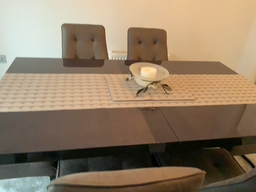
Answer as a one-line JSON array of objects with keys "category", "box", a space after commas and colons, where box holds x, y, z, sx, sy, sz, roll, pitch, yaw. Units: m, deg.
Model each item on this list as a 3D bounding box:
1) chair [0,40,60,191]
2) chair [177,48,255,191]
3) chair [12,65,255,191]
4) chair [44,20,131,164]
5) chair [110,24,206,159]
[{"category": "chair", "box": [-0.690, 0.250, 1.100, 0.590, 0.950, 0.500, -1, 29, -15]}, {"category": "chair", "box": [0.850, 0.180, 1.590, 0.620, 0.930, 0.480, 0, 29, -14]}, {"category": "chair", "box": [-0.080, 0.440, 0.900, 0.490, 0.950, 0.640, 0, 29, -14]}, {"category": "chair", "box": [-0.350, -0.040, 1.700, 0.500, 0.950, 0.570, -2, 30, -16]}, {"category": "chair", "box": [0.160, -0.050, 1.840, 0.490, 0.960, 0.620, 0, 29, -14]}]
